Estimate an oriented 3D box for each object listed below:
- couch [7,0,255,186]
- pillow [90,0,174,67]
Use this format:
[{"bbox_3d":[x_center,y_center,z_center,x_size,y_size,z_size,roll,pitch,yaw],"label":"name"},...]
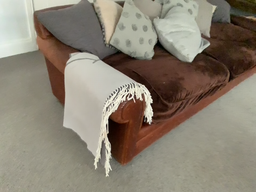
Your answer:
[{"bbox_3d":[0.410,-0.460,2.090,1.100,2.470,0.720,35,134,32],"label":"couch"},{"bbox_3d":[0.020,-0.510,1.620,0.450,0.400,0.230,-42,51,29],"label":"pillow"}]
